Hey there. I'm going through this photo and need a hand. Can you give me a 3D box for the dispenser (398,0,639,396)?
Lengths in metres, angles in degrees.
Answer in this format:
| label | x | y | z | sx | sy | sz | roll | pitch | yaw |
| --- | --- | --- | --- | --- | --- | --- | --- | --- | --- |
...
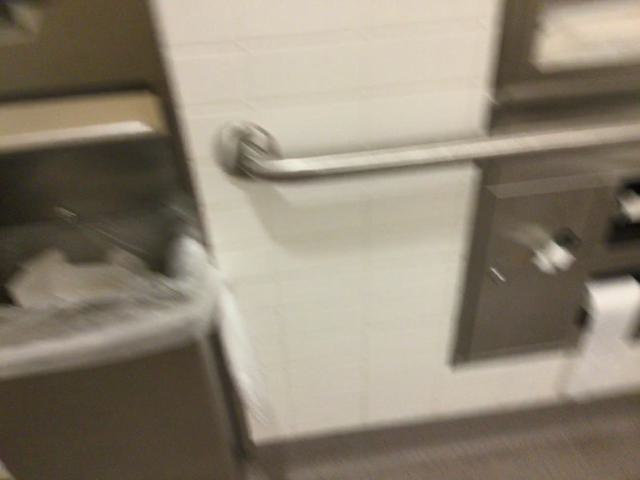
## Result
| label | x | y | z | sx | sy | sz | roll | pitch | yaw |
| --- | --- | --- | --- | --- | --- | --- | --- | --- | --- |
| dispenser | 0.440 | -0.070 | 0.920 | 0.500 | 0.750 | 0.120 | -1 | 34 | -10 |
